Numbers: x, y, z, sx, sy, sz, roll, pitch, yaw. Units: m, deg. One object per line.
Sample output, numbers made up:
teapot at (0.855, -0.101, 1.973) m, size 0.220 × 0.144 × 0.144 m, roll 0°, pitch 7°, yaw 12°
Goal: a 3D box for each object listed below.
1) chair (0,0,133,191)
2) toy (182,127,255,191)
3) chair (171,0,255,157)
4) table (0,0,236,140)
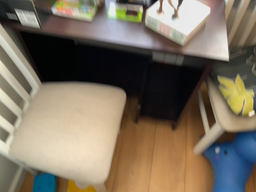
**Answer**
chair at (-0.290, 0.070, 0.850) m, size 0.500 × 0.950 × 0.410 m, roll 10°, pitch 58°, yaw 3°
toy at (0.460, 0.450, 1.070) m, size 0.280 × 0.340 × 0.440 m, roll 10°, pitch 58°, yaw 3°
chair at (0.560, -0.100, 1.020) m, size 0.410 × 0.930 × 0.500 m, roll -3°, pitch 59°, yaw -5°
table at (-0.030, -0.260, 1.190) m, size 0.860 × 0.740 × 0.620 m, roll 11°, pitch 58°, yaw 3°
